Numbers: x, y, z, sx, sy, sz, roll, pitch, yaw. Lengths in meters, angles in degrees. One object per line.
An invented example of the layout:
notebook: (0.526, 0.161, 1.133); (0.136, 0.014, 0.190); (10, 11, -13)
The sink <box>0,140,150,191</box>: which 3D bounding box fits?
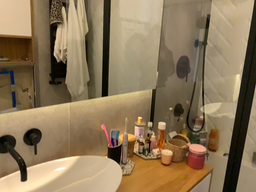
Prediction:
sink: (-0.270, 0.360, 0.740); (0.390, 0.120, 0.610); (16, 18, 42)
